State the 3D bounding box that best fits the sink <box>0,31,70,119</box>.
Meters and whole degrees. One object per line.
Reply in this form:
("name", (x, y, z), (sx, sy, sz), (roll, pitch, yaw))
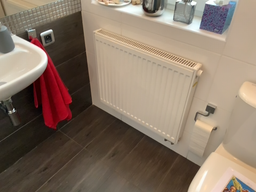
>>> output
("sink", (-0.580, -0.100, 0.970), (0.350, 0.150, 0.480), (27, 47, 27))
